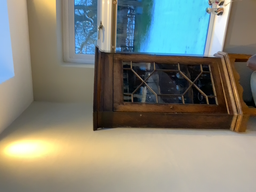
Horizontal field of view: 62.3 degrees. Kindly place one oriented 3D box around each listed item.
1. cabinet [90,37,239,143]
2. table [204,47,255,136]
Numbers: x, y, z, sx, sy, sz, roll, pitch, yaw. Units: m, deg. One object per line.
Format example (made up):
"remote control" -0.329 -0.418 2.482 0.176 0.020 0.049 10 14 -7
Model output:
"cabinet" 0.240 -0.020 1.800 0.460 1.040 0.730 105 166 -66
"table" 1.080 -0.020 1.840 0.400 0.600 0.640 105 166 -66
